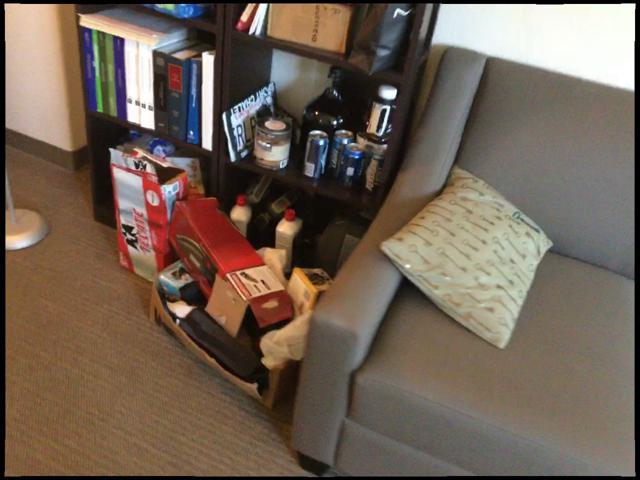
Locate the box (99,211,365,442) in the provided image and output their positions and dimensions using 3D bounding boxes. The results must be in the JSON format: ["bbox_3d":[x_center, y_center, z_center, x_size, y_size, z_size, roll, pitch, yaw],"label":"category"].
[{"bbox_3d":[-0.230,0.220,1.690,0.589,0.280,0.460,15,38,14],"label":"box"}]

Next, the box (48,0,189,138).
[{"bbox_3d":[-0.629,-0.551,1.850,0.319,0.320,0.220,15,38,14],"label":"box"}]

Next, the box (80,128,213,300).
[{"bbox_3d":[-0.539,-0.080,1.860,0.300,0.461,0.200,15,38,14],"label":"box"}]
